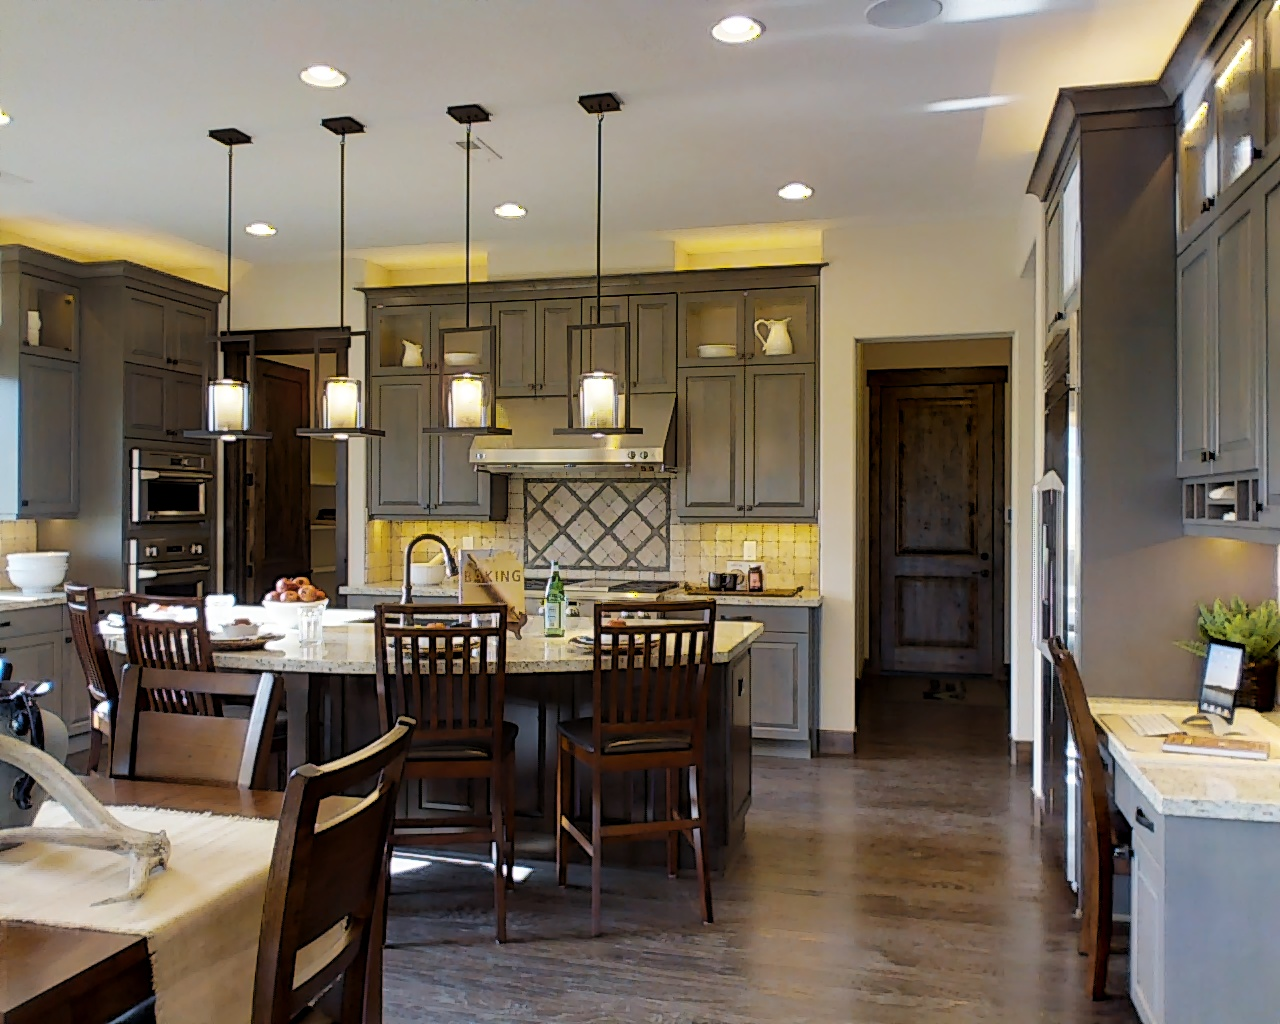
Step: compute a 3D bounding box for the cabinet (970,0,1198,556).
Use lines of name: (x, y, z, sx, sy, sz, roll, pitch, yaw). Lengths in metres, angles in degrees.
cabinet: (1.600, -0.750, 4.220, 0.430, 1.730, 2.830, 0, 0, 14)
